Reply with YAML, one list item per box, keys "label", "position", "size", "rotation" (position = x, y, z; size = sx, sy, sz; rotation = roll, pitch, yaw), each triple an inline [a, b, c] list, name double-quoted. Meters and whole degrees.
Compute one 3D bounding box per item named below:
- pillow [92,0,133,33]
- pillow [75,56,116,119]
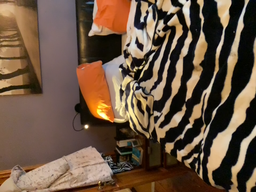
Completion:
- label: "pillow"
  position: [-0.150, -0.980, 1.960]
  size: [0.260, 0.320, 0.730]
  rotation: [-153, 60, -64]
- label: "pillow"
  position: [-0.360, -0.120, 2.320]
  size: [0.390, 0.330, 0.620]
  rotation: [-153, 60, -64]
